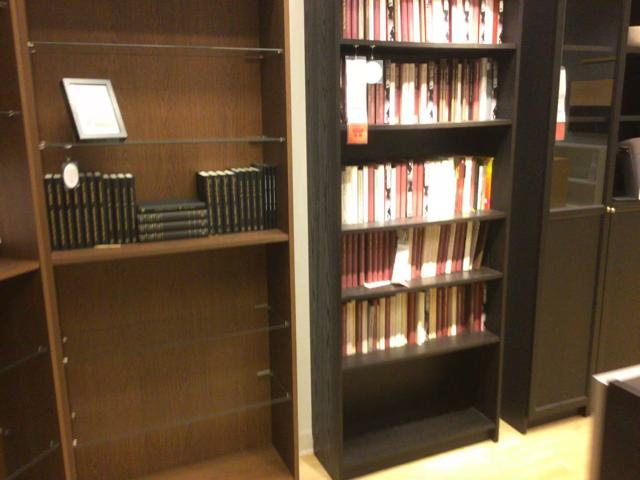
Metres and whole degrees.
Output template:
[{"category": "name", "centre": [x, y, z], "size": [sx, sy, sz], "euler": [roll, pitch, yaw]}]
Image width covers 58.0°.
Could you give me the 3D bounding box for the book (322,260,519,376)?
[{"category": "book", "centre": [0.400, 0.300, 2.320], "size": [0.750, 0.310, 0.190], "euler": [-5, 25, -20]}]

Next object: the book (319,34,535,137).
[{"category": "book", "centre": [0.390, -0.580, 2.160], "size": [0.720, 0.310, 0.270], "euler": [-5, 25, -20]}]

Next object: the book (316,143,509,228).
[{"category": "book", "centre": [0.360, -0.230, 2.290], "size": [0.700, 0.230, 0.250], "euler": [-5, 25, -20]}]

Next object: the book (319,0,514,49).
[{"category": "book", "centre": [0.360, -0.860, 2.120], "size": [0.690, 0.270, 0.190], "euler": [-5, 25, -20]}]

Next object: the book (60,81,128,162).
[{"category": "book", "centre": [-0.710, -0.380, 1.820], "size": [0.170, 0.200, 0.230], "euler": [-5, 25, -20]}]

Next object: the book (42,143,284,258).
[{"category": "book", "centre": [-0.510, -0.150, 1.950], "size": [0.730, 0.280, 0.230], "euler": [-5, 25, -20]}]

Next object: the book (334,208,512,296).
[{"category": "book", "centre": [0.410, 0.040, 2.280], "size": [0.700, 0.260, 0.110], "euler": [-5, 25, -20]}]
